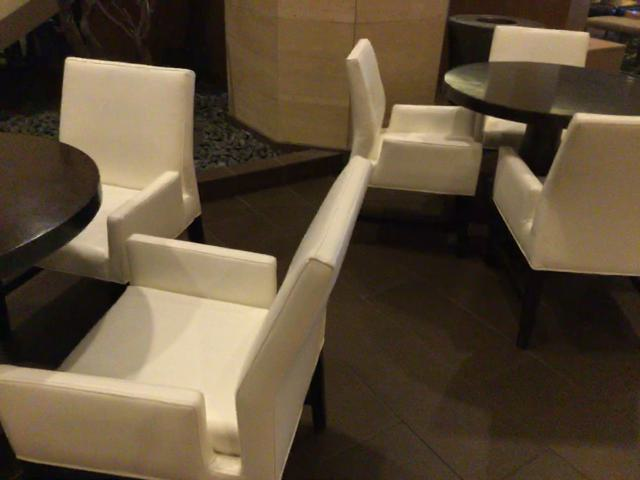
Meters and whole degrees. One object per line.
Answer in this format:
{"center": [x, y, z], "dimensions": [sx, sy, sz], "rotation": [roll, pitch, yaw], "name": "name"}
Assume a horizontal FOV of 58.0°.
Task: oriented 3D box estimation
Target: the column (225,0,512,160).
{"center": [0.310, -1.300, 3.570], "dimensions": [1.480, 1.040, 0.920], "rotation": [-21, 37, -31], "name": "column"}

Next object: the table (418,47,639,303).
{"center": [0.960, -0.350, 2.580], "dimensions": [0.900, 0.760, 0.910], "rotation": [7, 32, 11], "name": "table"}

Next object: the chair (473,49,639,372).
{"center": [0.960, -0.150, 2.140], "dimensions": [0.640, 0.880, 0.790], "rotation": [7, 32, 12], "name": "chair"}

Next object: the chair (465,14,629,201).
{"center": [1.140, -0.730, 3.080], "dimensions": [0.610, 0.770, 0.670], "rotation": [7, 32, 11], "name": "chair"}

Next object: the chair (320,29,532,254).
{"center": [0.460, -0.480, 2.630], "dimensions": [0.780, 0.760, 0.680], "rotation": [7, 32, 12], "name": "chair"}

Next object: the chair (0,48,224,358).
{"center": [-0.790, -0.170, 2.030], "dimensions": [0.610, 0.800, 0.700], "rotation": [7, 32, 11], "name": "chair"}
